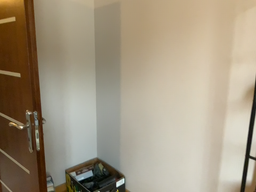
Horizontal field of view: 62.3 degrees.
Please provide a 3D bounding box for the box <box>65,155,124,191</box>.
[{"bbox_3d":[-0.350,0.870,2.200,0.400,0.220,0.470,-10,17,-42],"label":"box"}]

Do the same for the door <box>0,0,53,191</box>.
[{"bbox_3d":[-0.780,0.120,1.360,0.880,2.100,0.100,12,16,39],"label":"door"}]
